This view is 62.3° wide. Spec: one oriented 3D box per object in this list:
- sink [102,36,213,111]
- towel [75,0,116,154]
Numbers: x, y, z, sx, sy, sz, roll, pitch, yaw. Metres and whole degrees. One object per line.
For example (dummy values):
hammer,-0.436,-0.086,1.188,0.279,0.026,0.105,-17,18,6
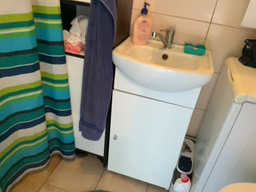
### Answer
sink,0.160,-0.140,1.060,0.460,0.140,0.370,15,32,11
towel,-0.170,-0.130,1.040,0.150,1.050,0.070,16,33,13
